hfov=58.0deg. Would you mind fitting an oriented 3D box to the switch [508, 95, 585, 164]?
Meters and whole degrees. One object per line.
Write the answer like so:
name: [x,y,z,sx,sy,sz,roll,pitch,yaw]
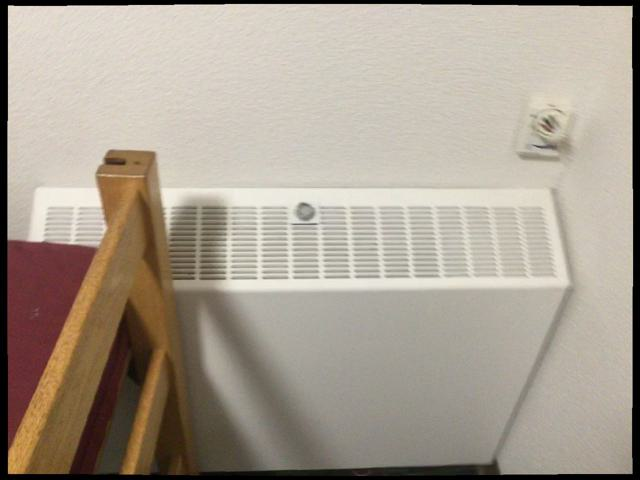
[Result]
switch: [0.389,-0.190,1.000,0.090,0.110,0.040,0,40,-5]
